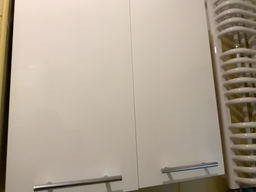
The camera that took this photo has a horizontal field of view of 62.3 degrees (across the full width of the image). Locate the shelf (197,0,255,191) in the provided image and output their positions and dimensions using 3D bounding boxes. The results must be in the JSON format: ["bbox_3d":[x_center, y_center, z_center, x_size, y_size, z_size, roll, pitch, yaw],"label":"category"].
[{"bbox_3d":[0.540,-0.090,1.010,0.270,1.020,0.190,3,-11,-24],"label":"shelf"}]
